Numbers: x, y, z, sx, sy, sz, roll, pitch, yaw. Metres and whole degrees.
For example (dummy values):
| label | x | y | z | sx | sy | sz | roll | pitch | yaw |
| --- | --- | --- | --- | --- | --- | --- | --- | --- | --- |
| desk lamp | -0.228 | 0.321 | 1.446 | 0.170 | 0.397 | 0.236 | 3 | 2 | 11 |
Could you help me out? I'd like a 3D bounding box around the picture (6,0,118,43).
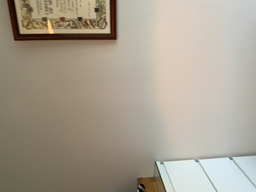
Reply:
| label | x | y | z | sx | sy | sz | roll | pitch | yaw |
| --- | --- | --- | --- | --- | --- | --- | --- | --- | --- |
| picture | -0.280 | -0.420 | 0.930 | 0.030 | 0.470 | 0.360 | -105 | 15 | -64 |
